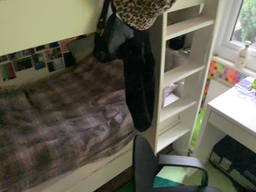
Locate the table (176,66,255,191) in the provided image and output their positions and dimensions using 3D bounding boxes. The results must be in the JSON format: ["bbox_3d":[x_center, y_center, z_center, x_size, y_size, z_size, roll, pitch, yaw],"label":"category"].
[{"bbox_3d":[0.850,0.390,1.370,0.590,0.790,0.730,-26,46,-31],"label":"table"}]
